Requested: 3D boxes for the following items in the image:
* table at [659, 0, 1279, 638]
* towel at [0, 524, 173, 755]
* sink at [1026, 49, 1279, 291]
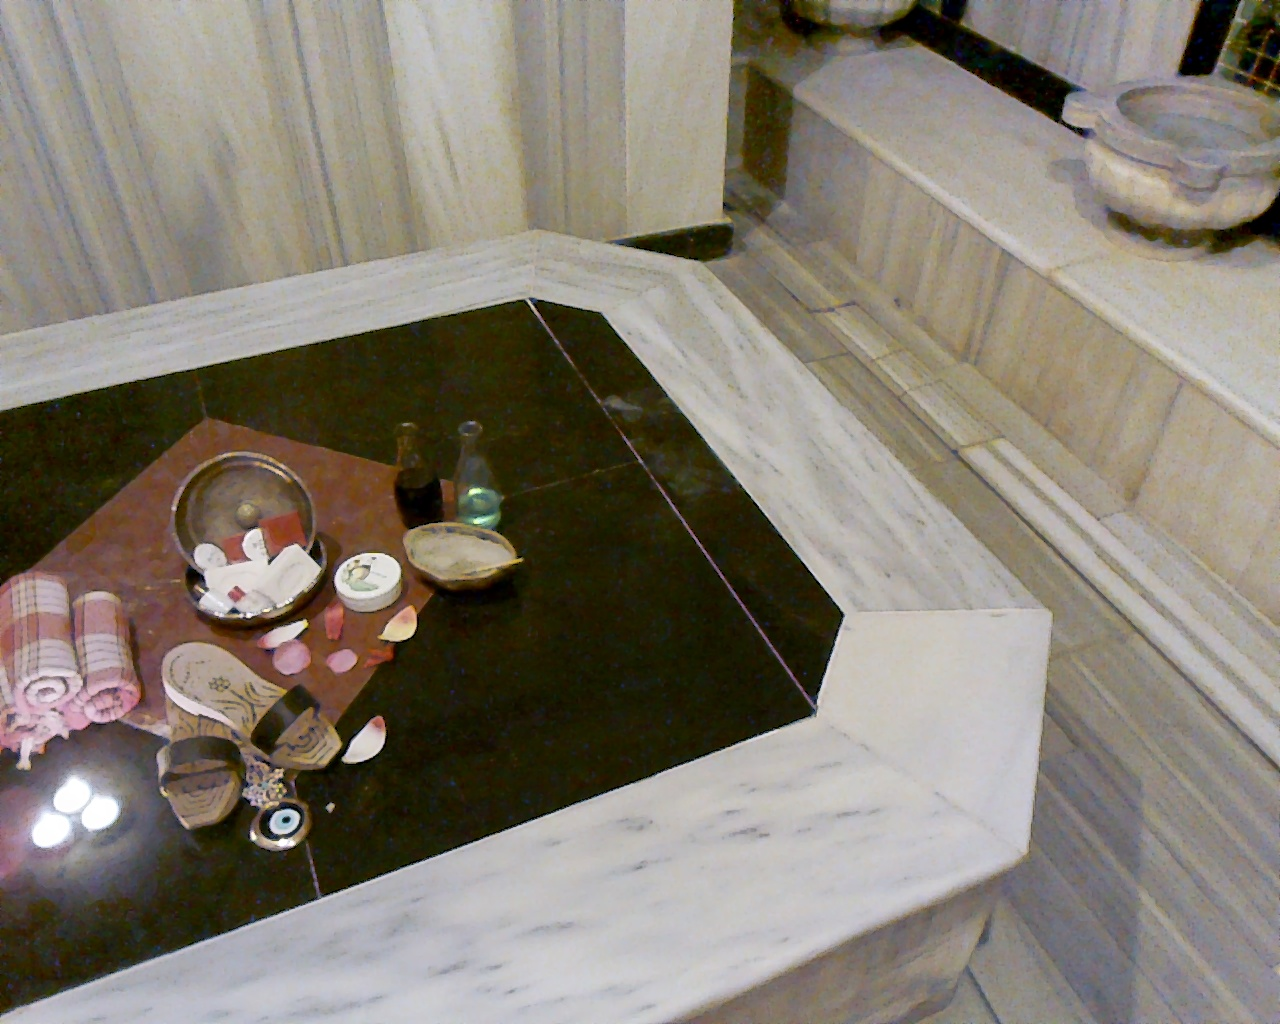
[{"bbox_3d":[1.240,-0.500,2.700,0.630,0.410,4.410,-16,44,-17],"label":"table"},{"bbox_3d":[-0.800,0.170,1.470,0.240,0.130,0.230,-19,45,-20],"label":"towel"},{"bbox_3d":[1.270,-0.810,2.510,0.460,0.320,0.450,-16,44,-17],"label":"sink"}]
